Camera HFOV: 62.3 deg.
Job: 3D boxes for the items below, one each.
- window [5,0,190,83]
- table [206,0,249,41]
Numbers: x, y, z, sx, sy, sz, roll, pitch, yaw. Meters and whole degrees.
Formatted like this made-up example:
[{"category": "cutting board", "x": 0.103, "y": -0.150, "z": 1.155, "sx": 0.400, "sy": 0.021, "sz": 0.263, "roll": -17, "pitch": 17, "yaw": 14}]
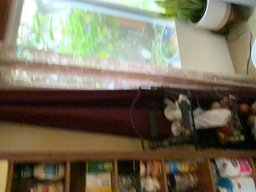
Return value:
[{"category": "window", "x": -0.180, "y": -0.690, "z": 1.830, "sx": 0.100, "sy": 1.370, "sz": 1.110, "roll": 128, "pitch": 143, "yaw": -59}, {"category": "table", "x": 0.970, "y": -0.790, "z": 2.110, "sx": 0.320, "sy": 0.150, "sz": 0.310, "roll": 128, "pitch": 143, "yaw": -59}]
